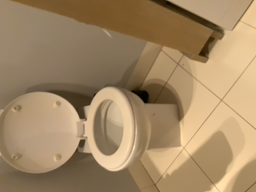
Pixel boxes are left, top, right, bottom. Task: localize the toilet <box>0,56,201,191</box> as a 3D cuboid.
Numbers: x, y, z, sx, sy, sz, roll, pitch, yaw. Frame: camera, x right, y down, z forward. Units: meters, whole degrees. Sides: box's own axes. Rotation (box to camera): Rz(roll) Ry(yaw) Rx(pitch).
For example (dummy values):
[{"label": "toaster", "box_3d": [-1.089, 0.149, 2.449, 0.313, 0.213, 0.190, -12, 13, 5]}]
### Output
[{"label": "toilet", "box_3d": [-0.120, 0.140, 1.020, 0.500, 0.810, 0.390, -13, 76, 50]}]
